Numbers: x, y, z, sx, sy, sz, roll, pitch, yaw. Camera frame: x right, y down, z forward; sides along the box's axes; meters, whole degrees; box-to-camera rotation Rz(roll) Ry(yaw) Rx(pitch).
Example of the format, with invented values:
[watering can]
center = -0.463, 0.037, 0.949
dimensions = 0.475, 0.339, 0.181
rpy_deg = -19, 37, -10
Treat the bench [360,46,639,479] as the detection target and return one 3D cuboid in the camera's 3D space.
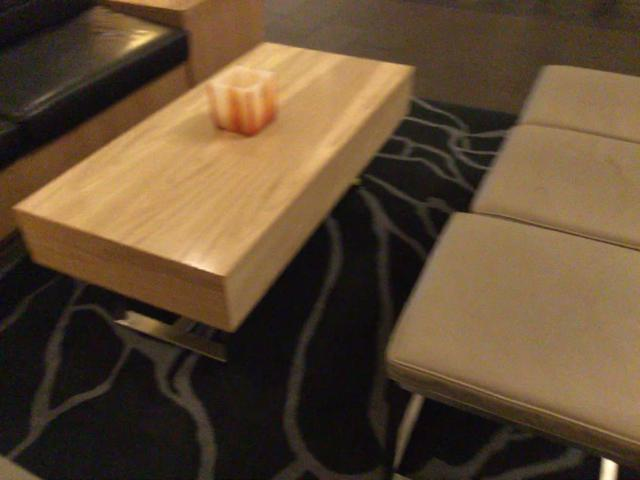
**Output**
[bench]
center = 0.700, 0.030, 1.610
dimensions = 0.590, 0.510, 1.630
rpy_deg = 16, 42, 21
